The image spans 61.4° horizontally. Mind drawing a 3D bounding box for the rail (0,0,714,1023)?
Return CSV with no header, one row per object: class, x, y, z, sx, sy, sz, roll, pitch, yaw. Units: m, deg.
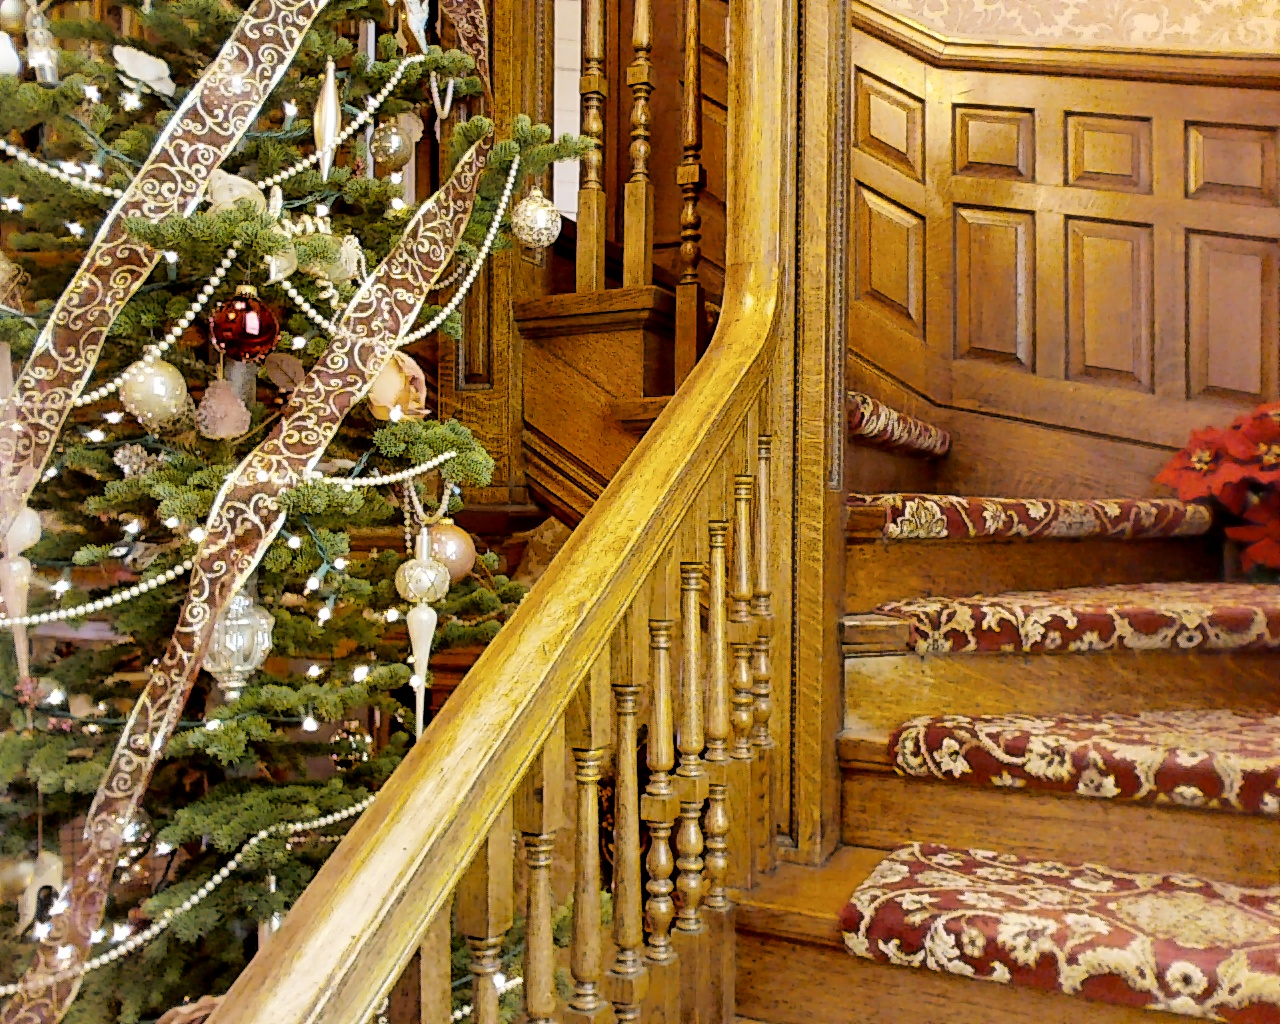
rail,-0.330,0.580,1.220,0.440,4.232,1.090,1,0,25
